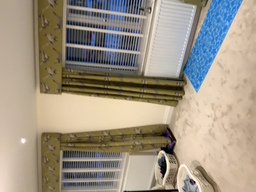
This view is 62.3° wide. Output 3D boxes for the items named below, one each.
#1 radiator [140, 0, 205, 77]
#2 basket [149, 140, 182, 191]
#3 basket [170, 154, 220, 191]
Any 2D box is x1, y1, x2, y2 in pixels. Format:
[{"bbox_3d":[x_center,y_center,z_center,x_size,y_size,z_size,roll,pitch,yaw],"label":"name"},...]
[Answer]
[{"bbox_3d":[0.650,-0.880,3.260,0.110,0.720,1.150,-109,26,-60],"label":"radiator"},{"bbox_3d":[0.630,1.260,3.770,0.540,0.240,0.760,-103,21,-53],"label":"basket"},{"bbox_3d":[0.840,1.220,2.800,0.660,0.220,0.580,-113,30,-64],"label":"basket"}]
